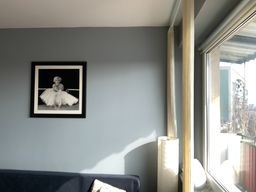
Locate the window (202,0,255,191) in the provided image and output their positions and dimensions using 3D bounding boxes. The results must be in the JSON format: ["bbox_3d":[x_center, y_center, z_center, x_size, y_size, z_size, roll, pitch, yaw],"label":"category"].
[{"bbox_3d":[0.750,0.020,0.900,0.130,1.540,3.200,1,-2,7],"label":"window"}]
